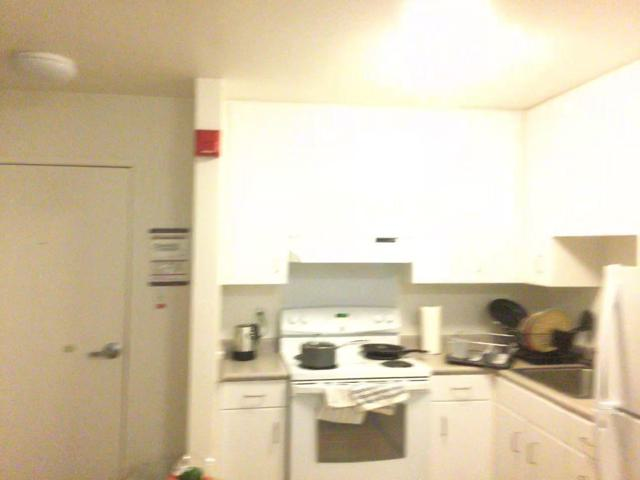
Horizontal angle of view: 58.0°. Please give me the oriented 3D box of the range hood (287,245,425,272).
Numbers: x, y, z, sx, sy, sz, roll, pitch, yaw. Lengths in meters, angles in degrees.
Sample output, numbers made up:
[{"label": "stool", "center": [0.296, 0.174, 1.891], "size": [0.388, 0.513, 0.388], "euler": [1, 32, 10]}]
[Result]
[{"label": "range hood", "center": [0.190, 0.100, 3.160], "size": [0.730, 0.140, 0.180], "euler": [0, -1, -7]}]
